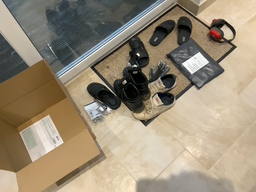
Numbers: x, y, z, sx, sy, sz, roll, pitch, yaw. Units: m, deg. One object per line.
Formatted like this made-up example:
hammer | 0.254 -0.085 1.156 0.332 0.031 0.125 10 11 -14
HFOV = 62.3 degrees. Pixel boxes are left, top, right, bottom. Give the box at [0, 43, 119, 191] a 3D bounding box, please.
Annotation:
box | -0.450 0.170 1.120 0.470 0.380 0.660 -37 69 -13
